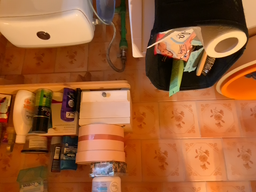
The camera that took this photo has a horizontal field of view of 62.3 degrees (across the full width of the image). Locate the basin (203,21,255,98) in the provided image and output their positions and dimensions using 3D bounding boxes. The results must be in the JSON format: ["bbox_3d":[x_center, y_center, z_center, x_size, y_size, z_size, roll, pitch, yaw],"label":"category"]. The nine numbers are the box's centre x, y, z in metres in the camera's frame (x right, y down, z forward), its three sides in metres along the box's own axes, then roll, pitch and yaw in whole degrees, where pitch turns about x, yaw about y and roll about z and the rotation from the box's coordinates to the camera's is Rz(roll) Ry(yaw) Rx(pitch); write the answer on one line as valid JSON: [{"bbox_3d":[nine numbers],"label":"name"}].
[{"bbox_3d":[0.460,-0.100,0.700,0.310,0.110,0.320,-1,160,2],"label":"basin"}]
